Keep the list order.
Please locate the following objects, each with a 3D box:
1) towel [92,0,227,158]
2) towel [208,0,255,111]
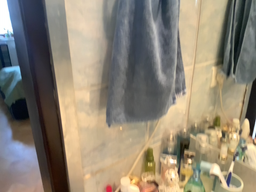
[{"bbox_3d":[0.090,-0.160,0.540,0.330,0.550,0.120,-15,26,-33],"label":"towel"},{"bbox_3d":[0.510,-0.270,0.830,0.330,0.580,0.130,-16,27,-34],"label":"towel"}]
